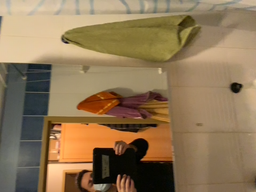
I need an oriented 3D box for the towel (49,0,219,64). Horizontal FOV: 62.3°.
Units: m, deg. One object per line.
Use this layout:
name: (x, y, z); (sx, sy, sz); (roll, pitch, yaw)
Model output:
towel: (0.030, -0.270, 0.890); (0.130, 0.650, 0.210); (117, 153, -72)
